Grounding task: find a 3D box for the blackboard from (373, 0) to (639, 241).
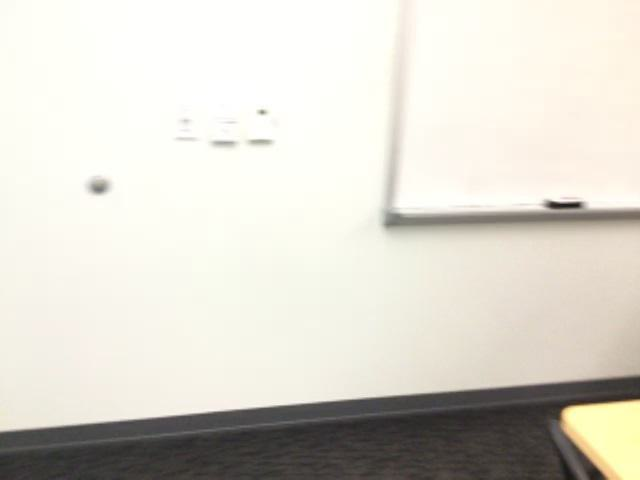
[{"bbox_3d":[1.460,-0.650,2.000,2.530,1.270,0.100,-2,19,-8],"label":"blackboard"}]
